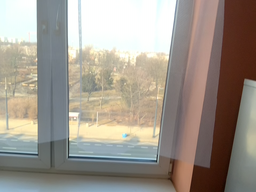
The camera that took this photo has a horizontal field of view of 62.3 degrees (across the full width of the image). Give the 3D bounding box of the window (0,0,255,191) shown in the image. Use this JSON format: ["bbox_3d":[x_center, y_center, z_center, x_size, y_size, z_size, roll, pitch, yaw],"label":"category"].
[{"bbox_3d":[-0.360,-0.310,0.810,1.650,1.870,0.150,4,12,-2],"label":"window"}]
